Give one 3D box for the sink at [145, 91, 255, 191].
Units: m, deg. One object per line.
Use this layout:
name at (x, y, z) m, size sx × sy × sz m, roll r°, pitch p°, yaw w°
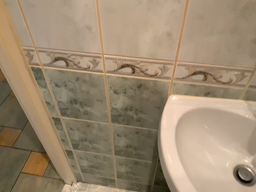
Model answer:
sink at (0.260, 0.220, 0.570) m, size 0.410 × 0.200 × 0.400 m, roll 7°, pitch 47°, yaw 6°
